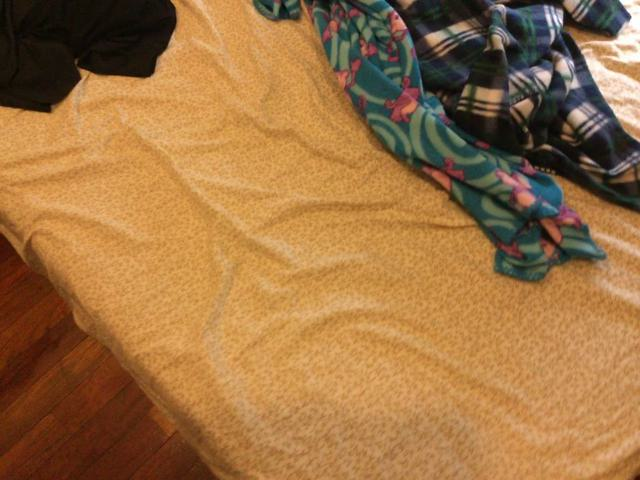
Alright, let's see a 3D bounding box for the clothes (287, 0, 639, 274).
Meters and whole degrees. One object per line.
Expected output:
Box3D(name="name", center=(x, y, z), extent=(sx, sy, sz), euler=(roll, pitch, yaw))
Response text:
Box3D(name="clothes", center=(0.350, -0.330, 0.930), extent=(0.590, 0.120, 0.540), euler=(38, 68, 20))
